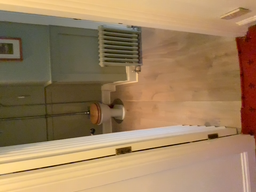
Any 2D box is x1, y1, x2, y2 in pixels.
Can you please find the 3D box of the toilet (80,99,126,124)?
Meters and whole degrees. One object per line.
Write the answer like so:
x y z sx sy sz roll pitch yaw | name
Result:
-0.460 0.250 3.670 0.750 0.540 0.350 -4 89 63 | toilet
